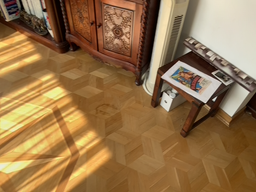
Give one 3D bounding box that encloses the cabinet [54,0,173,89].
[{"bbox_3d":[-0.130,-0.600,1.610,0.790,0.800,0.360,29,54,19],"label":"cabinet"}]
